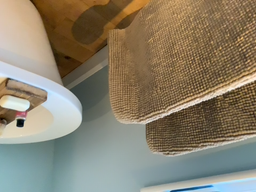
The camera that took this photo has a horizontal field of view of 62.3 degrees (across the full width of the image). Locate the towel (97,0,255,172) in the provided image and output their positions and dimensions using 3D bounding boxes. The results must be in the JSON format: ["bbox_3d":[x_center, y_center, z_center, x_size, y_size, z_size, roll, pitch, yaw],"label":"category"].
[{"bbox_3d":[0.240,-0.230,0.800,0.690,0.870,0.310,-27,147,35],"label":"towel"}]
